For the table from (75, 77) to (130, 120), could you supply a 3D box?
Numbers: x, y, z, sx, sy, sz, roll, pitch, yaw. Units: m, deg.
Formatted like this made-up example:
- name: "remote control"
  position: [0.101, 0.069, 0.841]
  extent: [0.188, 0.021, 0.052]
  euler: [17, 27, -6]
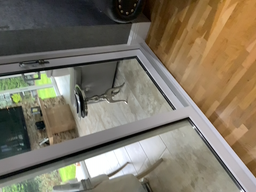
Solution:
- name: "table"
  position: [-0.320, 0.020, 2.590]
  extent: [0.310, 0.550, 0.300]
  euler: [61, 149, 30]
